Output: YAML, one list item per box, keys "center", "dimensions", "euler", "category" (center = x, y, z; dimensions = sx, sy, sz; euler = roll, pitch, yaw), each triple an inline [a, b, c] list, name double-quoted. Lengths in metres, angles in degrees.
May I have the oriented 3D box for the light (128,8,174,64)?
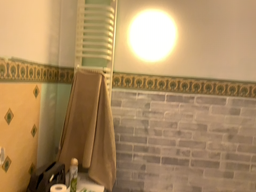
- center: [0.170, -0.450, 1.620]
  dimensions: [0.300, 0.370, 0.140]
  euler: [5, 4, 3]
  category: "light"

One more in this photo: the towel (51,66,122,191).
- center: [-0.300, 0.230, 1.600]
  dimensions: [0.440, 0.860, 0.200]
  euler: [5, 4, 1]
  category: "towel"
